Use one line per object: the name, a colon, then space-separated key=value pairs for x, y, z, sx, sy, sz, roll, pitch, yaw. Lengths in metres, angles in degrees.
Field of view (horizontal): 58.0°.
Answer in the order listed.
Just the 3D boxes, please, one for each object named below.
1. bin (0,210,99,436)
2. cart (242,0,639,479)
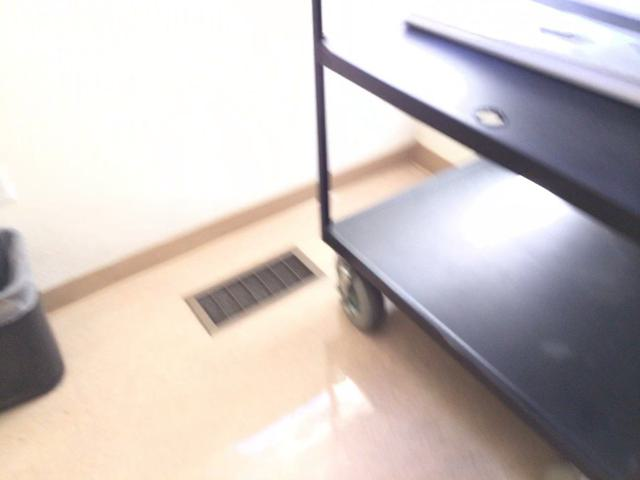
bin: x=-0.820 y=0.220 z=1.400 sx=0.370 sy=0.390 sz=0.310 roll=-25 pitch=40 yaw=-27
cart: x=0.490 y=-0.150 z=1.250 sx=0.780 sy=1.150 sz=1.120 roll=-24 pitch=40 yaw=-27
